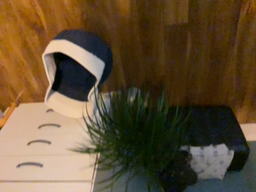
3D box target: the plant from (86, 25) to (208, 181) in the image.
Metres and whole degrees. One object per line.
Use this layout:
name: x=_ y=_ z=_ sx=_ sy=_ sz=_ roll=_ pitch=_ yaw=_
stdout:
plant: x=0.080 y=0.000 z=1.160 sx=0.360 sy=0.690 sz=0.400 roll=24 pitch=128 yaw=-15
